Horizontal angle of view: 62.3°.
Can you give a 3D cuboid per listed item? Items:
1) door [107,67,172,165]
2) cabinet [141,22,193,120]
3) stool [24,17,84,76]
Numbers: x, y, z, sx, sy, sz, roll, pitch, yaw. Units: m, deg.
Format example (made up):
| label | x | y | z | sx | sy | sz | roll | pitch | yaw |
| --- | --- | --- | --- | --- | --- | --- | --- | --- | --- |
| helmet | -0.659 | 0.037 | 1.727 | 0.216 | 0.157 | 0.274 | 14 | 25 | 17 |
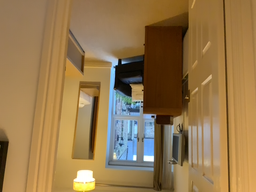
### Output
| label | x | y | z | sx | sy | sz | roll | pitch | yaw |
| --- | --- | --- | --- | --- | --- | --- | --- | --- | --- |
| door | 0.260 | 0.380 | 4.390 | 1.290 | 1.940 | 0.120 | 2 | 171 | 1 |
| cabinet | 0.470 | -0.260 | 2.880 | 0.550 | 1.120 | 0.870 | 1 | 171 | 1 |
| stool | -0.950 | -0.620 | 2.960 | 0.410 | 0.430 | 1.060 | 2 | 171 | 2 |
